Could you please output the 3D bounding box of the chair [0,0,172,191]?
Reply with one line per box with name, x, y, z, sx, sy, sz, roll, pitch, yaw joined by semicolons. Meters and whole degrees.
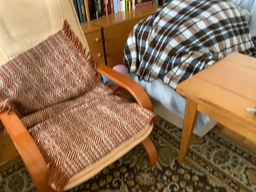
chair;-0.350;-0.030;1.130;0.680;0.960;0.840;-29;43;-31
